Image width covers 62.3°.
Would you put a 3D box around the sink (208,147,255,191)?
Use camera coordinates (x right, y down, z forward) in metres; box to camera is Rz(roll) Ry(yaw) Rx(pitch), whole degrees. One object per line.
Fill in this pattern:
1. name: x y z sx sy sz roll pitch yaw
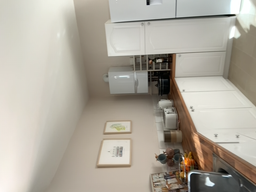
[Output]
1. sink: 0.730 0.640 1.340 0.500 0.270 0.510 1 -92 -87
